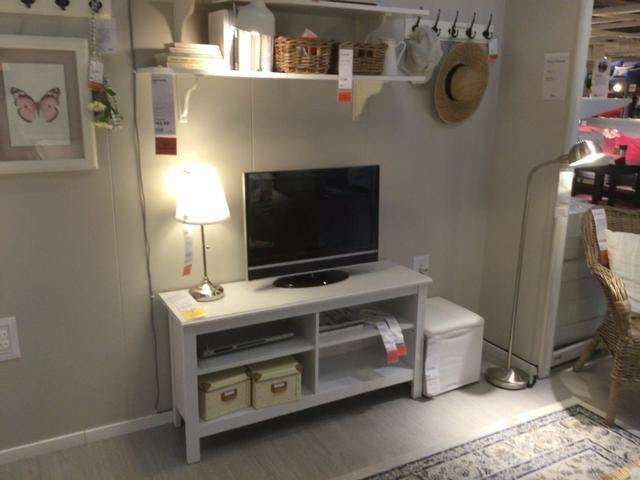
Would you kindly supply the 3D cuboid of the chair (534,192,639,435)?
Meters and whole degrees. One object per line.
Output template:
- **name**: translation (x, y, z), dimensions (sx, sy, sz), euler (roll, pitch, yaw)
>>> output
- **chair**: translation (1.520, 0.270, 2.660), dimensions (0.710, 0.850, 0.790), euler (-4, 14, -3)

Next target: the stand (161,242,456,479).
- **stand**: translation (-0.010, 0.470, 2.580), dimensions (1.220, 0.670, 0.430), euler (-10, 15, -27)

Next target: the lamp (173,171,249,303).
- **lamp**: translation (-0.440, -0.020, 2.340), dimensions (0.210, 0.480, 0.200), euler (-10, 15, -27)
